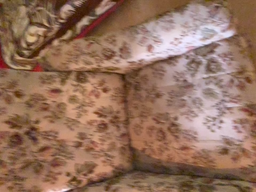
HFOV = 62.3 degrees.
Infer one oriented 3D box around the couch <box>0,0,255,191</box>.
[{"bbox_3d":[-0.020,0.090,0.870,0.930,0.940,0.750,-12,82,37],"label":"couch"}]
